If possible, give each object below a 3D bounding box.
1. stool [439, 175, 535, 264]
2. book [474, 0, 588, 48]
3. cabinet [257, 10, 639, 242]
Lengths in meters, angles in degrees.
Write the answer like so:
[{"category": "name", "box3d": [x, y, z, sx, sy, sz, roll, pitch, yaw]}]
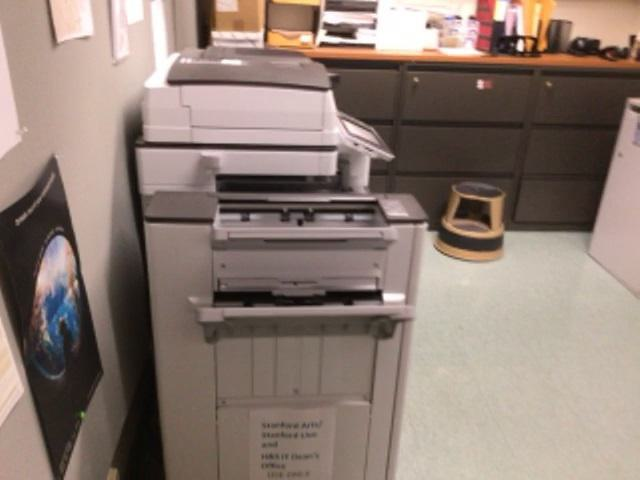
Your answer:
[{"category": "stool", "box3d": [0.890, -0.120, 3.140, 0.380, 0.360, 0.350, -3, 25, -3]}, {"category": "book", "box3d": [1.160, -1.300, 3.210, 0.470, 0.390, 0.380, -3, 25, -3]}, {"category": "cabinet", "box3d": [0.800, -0.680, 3.390, 2.240, 1.150, 0.530, -3, 25, -3]}]
